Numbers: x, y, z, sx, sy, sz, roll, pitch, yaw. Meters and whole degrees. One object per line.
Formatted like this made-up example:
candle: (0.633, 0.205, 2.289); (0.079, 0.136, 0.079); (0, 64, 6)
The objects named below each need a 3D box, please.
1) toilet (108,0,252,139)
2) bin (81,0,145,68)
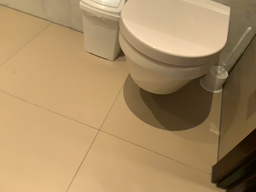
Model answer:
toilet: (0.220, -0.190, 0.950); (0.420, 0.360, 0.540); (19, 49, 5)
bin: (-0.090, -0.380, 1.140); (0.270, 0.370, 0.160); (21, 49, 6)
